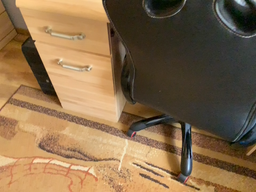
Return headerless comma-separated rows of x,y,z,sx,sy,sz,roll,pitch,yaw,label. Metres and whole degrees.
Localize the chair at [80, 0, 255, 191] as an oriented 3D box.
0.350,-0.170,0.900,0.680,1.160,0.730,22,55,16,chair
